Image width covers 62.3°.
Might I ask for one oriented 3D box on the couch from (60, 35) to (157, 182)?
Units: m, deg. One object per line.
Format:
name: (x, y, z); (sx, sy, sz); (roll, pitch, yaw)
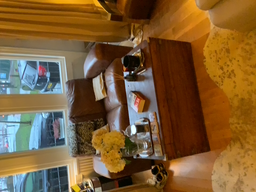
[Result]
couch: (-0.360, 0.200, 2.910); (1.040, 0.780, 1.620); (-27, 67, 57)
